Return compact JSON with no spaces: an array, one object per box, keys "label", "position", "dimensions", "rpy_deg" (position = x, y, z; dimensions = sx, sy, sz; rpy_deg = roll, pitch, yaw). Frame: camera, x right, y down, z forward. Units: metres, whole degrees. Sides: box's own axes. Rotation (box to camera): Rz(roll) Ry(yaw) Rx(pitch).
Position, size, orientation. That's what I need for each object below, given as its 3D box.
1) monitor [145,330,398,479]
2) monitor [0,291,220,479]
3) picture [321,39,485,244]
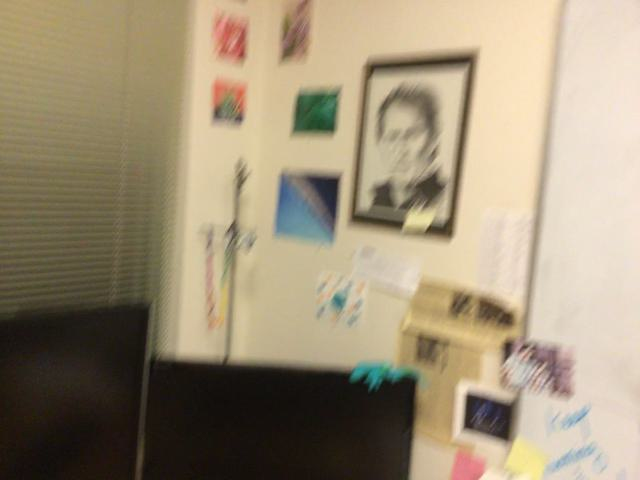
[{"label":"monitor","position":[-0.110,0.490,1.400],"dimensions":[0.550,0.450,0.220],"rpy_deg":[5,4,5]},{"label":"monitor","position":[-0.490,0.420,1.250],"dimensions":[0.200,0.560,0.490],"rpy_deg":[8,5,40]},{"label":"picture","position":[0.190,-0.240,1.450],"dimensions":[0.410,0.460,0.040],"rpy_deg":[8,5,40]}]
